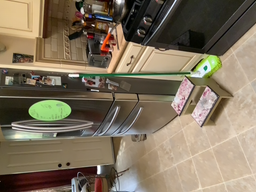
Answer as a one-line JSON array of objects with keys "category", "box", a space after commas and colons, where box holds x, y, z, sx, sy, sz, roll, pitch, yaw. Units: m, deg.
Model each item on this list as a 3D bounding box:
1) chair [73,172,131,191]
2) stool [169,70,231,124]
[{"category": "chair", "box": [-0.440, 1.510, 3.490, 0.460, 0.840, 0.410, 143, 125, -60]}, {"category": "stool", "box": [0.620, 0.010, 1.880, 0.320, 0.280, 0.340, -119, 39, -49]}]
